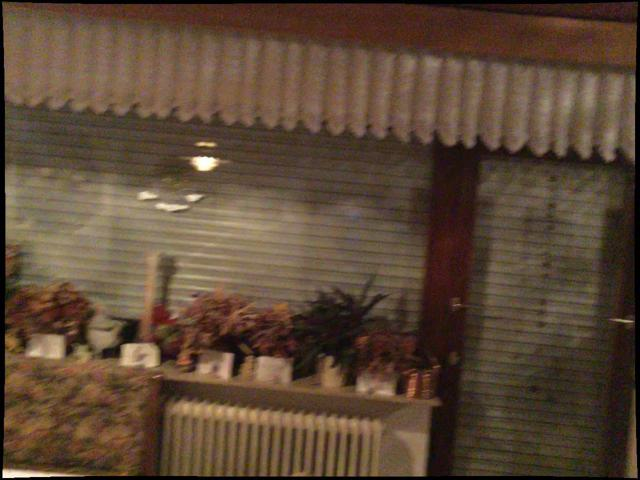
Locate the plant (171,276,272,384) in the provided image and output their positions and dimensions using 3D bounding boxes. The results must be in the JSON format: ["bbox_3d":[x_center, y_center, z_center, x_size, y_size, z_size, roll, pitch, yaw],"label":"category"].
[{"bbox_3d":[-0.430,0.390,2.610,0.340,0.380,0.350,7,4,4],"label":"plant"}]

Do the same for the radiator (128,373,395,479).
[{"bbox_3d":[-0.270,1.041,2.590,1.119,0.691,0.220,7,4,4],"label":"radiator"}]

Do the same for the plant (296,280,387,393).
[{"bbox_3d":[0.100,0.420,2.610,0.340,0.410,0.300,7,4,4],"label":"plant"}]

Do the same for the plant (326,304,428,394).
[{"bbox_3d":[0.250,0.480,2.610,0.400,0.280,0.330,7,4,4],"label":"plant"}]

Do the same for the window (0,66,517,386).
[{"bbox_3d":[-0.579,-0.110,2.660,2.677,1.101,0.420,7,4,4],"label":"window"}]

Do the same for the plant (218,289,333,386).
[{"bbox_3d":[-0.190,0.430,2.620,0.450,0.320,0.290,7,4,4],"label":"plant"}]

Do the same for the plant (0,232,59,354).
[{"bbox_3d":[-1.449,0.230,2.670,0.310,0.490,0.290,7,4,4],"label":"plant"}]

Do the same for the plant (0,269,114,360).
[{"bbox_3d":[-1.229,0.330,2.650,0.420,0.310,0.310,7,4,4],"label":"plant"}]
